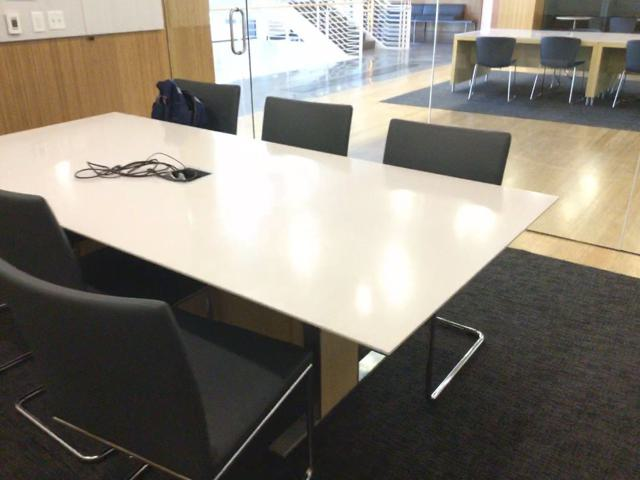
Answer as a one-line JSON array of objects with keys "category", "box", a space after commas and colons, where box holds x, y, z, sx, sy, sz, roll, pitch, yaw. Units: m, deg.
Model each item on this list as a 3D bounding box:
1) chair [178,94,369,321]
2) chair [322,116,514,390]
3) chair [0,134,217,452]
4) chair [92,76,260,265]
[{"category": "chair", "box": [-0.180, -0.180, 2.540, 0.570, 0.770, 0.540, 17, 30, 33]}, {"category": "chair", "box": [0.350, 0.010, 2.110, 0.430, 0.770, 0.560, 17, 30, 33]}, {"category": "chair", "box": [-0.730, 0.130, 1.870, 0.500, 0.780, 0.510, 15, 29, 31]}, {"category": "chair", "box": [-0.730, -0.400, 3.070, 0.500, 0.800, 0.600, 17, 30, 33]}]
